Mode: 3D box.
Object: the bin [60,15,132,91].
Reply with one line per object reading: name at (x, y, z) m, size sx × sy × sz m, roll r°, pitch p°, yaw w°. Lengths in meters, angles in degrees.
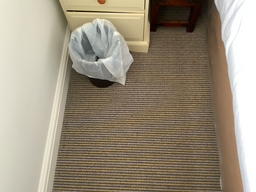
bin at (-0.130, -0.200, 1.060) m, size 0.290 × 0.290 × 0.250 m, roll 2°, pitch 67°, yaw 2°
